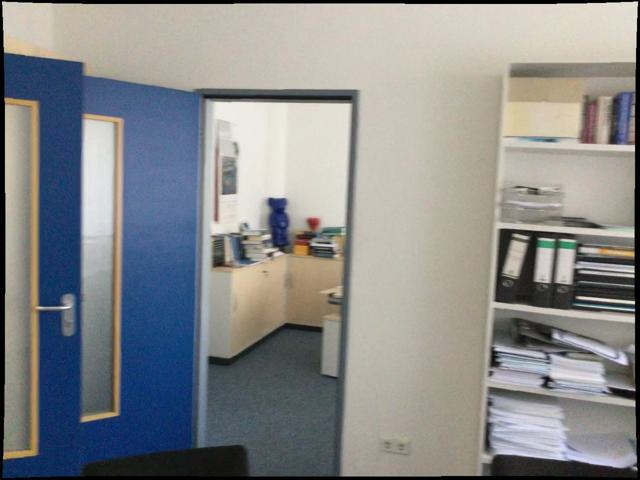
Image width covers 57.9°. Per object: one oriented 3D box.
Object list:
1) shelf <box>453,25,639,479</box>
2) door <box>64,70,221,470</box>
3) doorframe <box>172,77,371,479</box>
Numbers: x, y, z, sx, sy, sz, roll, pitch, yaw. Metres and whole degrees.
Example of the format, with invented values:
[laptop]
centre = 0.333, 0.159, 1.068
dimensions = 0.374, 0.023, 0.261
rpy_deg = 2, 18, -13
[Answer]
[shelf]
centre = 1.758, 0.330, 2.310
dimensions = 2.248, 2.172, 0.550
rpy_deg = 4, 8, 12
[door]
centre = -0.899, 0.160, 2.970
dimensions = 0.680, 1.882, 0.150
rpy_deg = 0, 7, -41
[doorframe]
centre = -0.280, 0.220, 3.050
dimensions = 0.949, 2.082, 0.170
rpy_deg = 5, 5, 16
